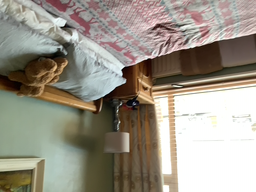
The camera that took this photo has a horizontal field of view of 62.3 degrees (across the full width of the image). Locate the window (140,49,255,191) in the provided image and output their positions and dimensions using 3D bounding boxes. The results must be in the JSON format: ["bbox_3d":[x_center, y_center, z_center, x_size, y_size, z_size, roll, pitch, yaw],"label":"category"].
[{"bbox_3d":[0.950,0.520,2.020,1.780,1.920,0.070,-7,165,27],"label":"window"}]
